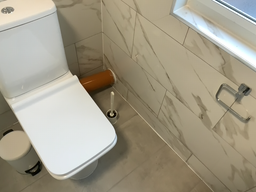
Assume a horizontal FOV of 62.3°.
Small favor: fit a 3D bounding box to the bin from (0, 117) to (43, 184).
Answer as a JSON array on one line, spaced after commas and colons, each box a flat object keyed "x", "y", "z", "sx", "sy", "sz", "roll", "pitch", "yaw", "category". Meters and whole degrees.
[{"x": -0.630, "y": 0.310, "z": 1.200, "sx": 0.150, "sy": 0.250, "sz": 0.260, "roll": -26, "pitch": 60, "yaw": -22, "category": "bin"}]
